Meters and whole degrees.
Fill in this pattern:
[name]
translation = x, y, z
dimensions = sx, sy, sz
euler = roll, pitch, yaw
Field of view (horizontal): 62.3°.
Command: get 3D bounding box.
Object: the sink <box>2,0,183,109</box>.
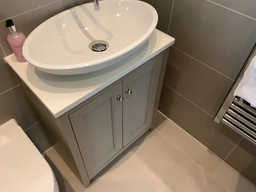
[sink]
translation = -0.120, -0.250, 0.870
dimensions = 0.590, 0.100, 0.390
euler = -36, 59, -27
